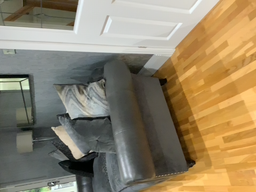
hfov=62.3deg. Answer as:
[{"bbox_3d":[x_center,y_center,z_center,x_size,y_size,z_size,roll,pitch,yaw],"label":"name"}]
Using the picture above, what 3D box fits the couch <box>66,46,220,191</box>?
[{"bbox_3d":[-0.230,0.710,2.750,2.680,0.770,1.090,123,138,-54],"label":"couch"}]
